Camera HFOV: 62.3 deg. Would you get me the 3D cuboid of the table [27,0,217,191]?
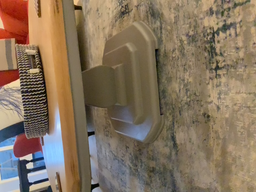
[{"bbox_3d":[-0.170,-0.030,1.020,0.990,0.440,0.980,-3,94,63],"label":"table"}]
